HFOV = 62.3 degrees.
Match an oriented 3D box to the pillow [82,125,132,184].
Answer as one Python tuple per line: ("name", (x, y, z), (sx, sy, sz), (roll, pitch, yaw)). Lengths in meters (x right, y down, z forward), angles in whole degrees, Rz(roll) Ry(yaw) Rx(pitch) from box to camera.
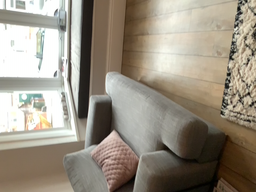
("pillow", (-0.160, 0.490, 1.930), (0.650, 0.300, 0.190), (-61, -23, -74))

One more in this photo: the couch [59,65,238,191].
("couch", (-0.050, 0.460, 1.890), (1.340, 0.830, 1.160), (38, 124, 56))
